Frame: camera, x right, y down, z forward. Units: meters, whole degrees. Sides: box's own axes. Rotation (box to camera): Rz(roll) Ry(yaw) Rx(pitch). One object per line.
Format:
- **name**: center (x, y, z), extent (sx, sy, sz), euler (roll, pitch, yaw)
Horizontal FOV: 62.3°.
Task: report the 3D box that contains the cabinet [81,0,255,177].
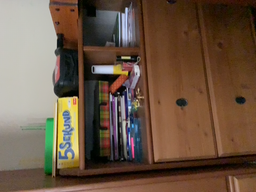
- **cabinet**: center (0.210, -0.170, 1.050), extent (0.480, 0.860, 0.930), euler (137, 132, -74)
